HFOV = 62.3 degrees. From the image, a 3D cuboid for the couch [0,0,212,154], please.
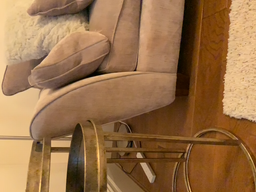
[{"bbox_3d":[-0.210,-0.980,1.260,1.040,0.930,2.370,180,96,-67],"label":"couch"}]
